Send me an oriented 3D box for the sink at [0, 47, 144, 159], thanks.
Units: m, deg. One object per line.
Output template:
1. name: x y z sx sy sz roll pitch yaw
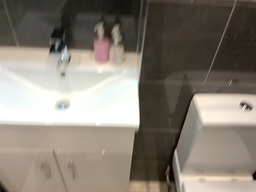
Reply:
1. sink: -0.290 0.010 0.850 0.650 0.200 0.420 1 44 -4
